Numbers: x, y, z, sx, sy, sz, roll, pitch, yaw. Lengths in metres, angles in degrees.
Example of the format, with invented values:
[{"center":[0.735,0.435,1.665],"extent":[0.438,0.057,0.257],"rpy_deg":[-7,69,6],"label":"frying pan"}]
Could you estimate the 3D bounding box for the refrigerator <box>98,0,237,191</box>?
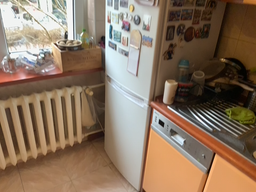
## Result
[{"center":[0.210,-0.230,1.660],"extent":[0.660,1.880,0.650],"rpy_deg":[-14,32,-31],"label":"refrigerator"}]
